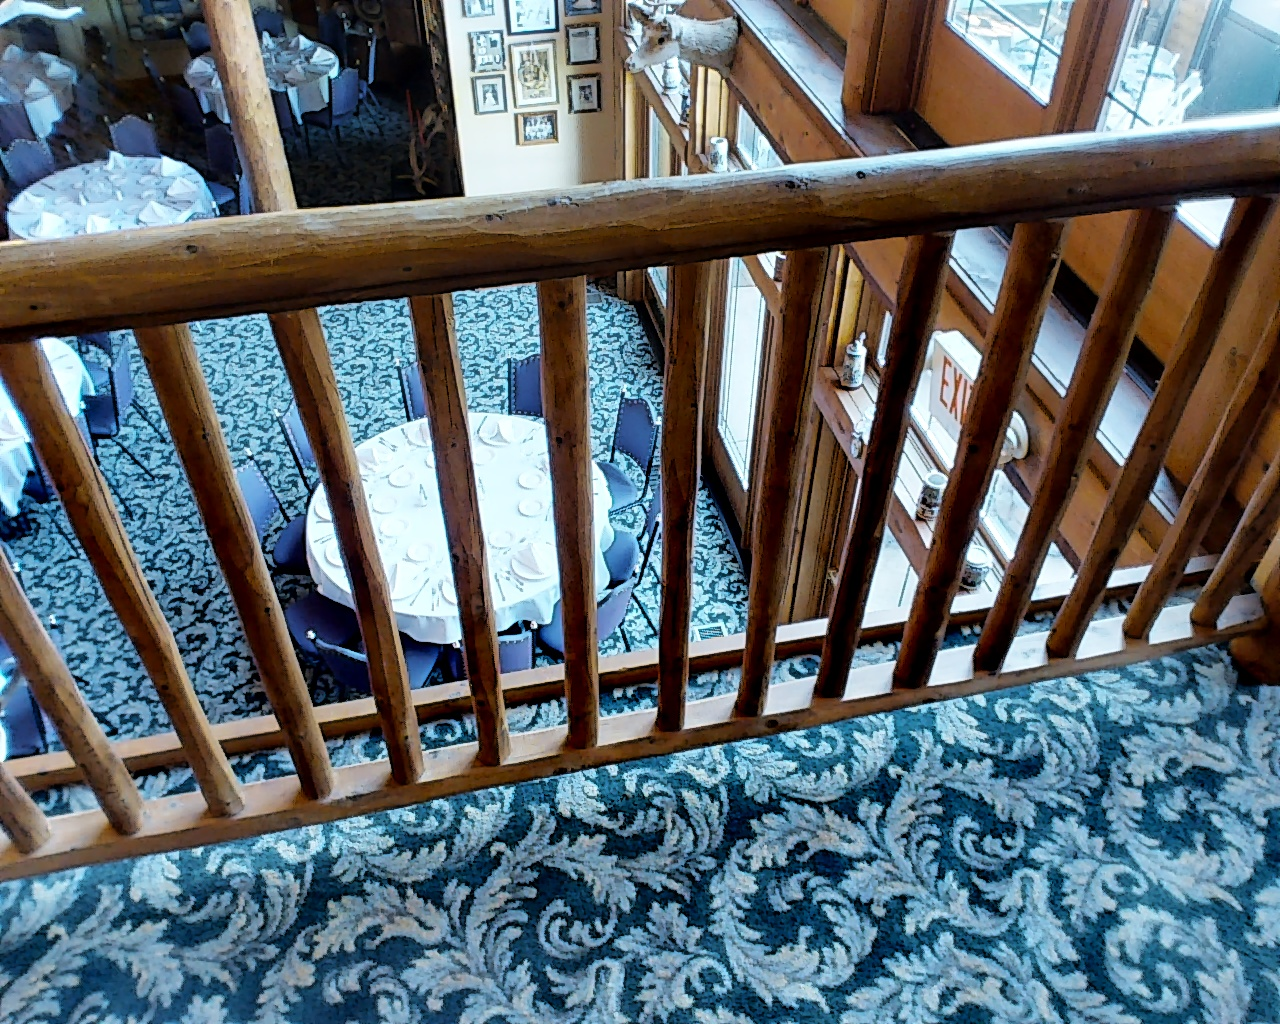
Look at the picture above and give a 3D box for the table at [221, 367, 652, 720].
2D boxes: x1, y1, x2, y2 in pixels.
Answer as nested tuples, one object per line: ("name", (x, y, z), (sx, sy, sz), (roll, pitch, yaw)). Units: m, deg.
("table", (-1.050, 0.100, 6.380), (1.950, 0.770, 1.880), (7, 43, 6))
